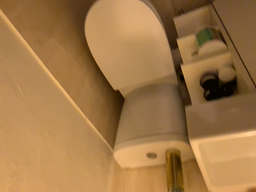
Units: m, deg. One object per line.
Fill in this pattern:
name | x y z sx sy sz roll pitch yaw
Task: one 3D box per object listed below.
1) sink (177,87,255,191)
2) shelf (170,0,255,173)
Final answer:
sink | 0.500 0.130 0.590 0.620 0.110 0.410 -14 130 20
shelf | 0.370 -0.140 1.000 0.200 0.850 0.380 -14 130 20
